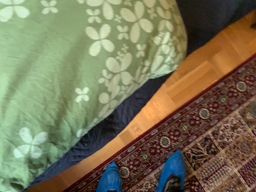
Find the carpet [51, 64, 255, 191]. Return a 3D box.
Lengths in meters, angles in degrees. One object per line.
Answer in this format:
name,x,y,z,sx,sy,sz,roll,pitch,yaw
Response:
carpet,0.490,0.420,1.170,1.830,0.070,0.770,-31,88,-7
